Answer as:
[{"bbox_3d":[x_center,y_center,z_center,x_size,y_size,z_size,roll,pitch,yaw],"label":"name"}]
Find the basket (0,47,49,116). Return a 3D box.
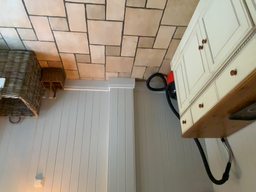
[{"bbox_3d":[-1.300,-0.140,2.360,0.590,0.540,0.590,2,154,-5],"label":"basket"}]
